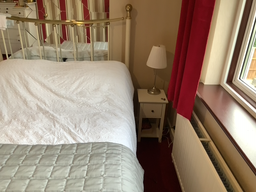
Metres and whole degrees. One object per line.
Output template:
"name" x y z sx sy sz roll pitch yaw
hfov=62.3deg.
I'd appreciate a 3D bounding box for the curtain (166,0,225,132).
"curtain" 0.470 -0.730 1.360 0.180 1.940 0.510 4 26 4
